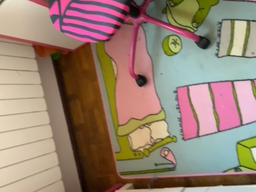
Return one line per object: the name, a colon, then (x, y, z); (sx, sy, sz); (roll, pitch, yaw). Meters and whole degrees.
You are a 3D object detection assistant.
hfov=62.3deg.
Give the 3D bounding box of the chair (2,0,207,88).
chair: (-0.060, -0.330, 0.990); (0.600, 0.650, 0.380); (-25, 79, 29)
